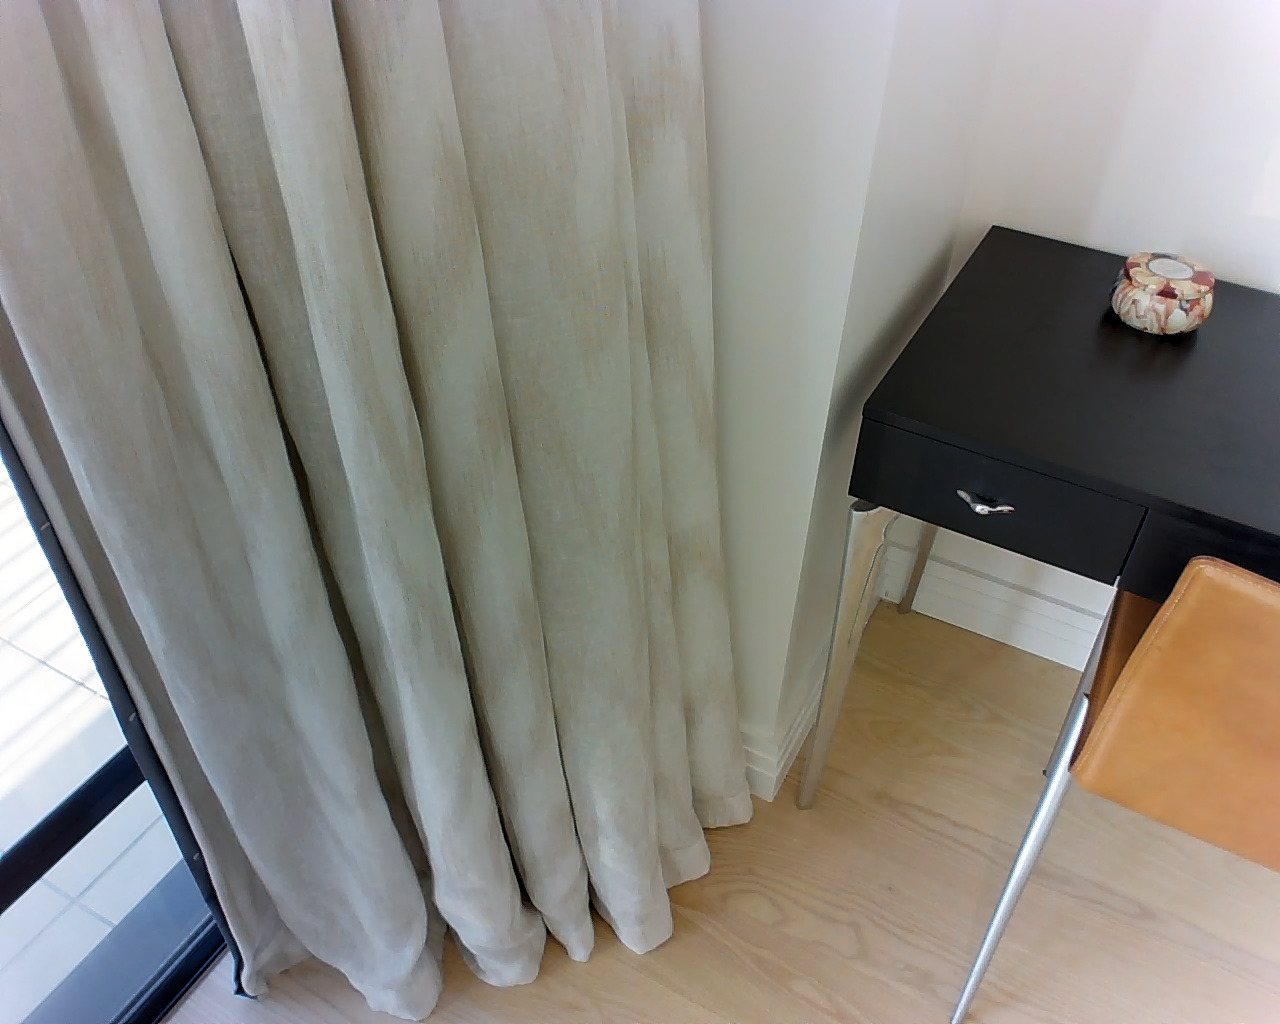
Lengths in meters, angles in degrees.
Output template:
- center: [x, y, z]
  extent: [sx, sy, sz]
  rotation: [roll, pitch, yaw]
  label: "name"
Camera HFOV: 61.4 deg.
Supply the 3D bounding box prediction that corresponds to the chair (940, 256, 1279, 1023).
- center: [0.720, 0.260, 1.160]
  extent: [0.470, 0.800, 0.540]
  rotation: [22, 45, 20]
  label: "chair"
